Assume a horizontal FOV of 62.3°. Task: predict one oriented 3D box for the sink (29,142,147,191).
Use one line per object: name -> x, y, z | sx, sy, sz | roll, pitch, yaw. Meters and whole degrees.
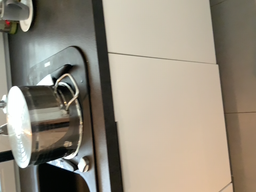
sink -> -0.180, 0.420, 0.840 | 0.510, 0.210, 0.400 | -8, 87, 47
